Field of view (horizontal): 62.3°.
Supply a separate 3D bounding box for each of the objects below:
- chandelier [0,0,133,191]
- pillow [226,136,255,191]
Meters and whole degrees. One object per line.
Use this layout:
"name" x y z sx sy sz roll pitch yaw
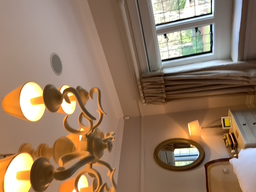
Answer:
"chandelier" -0.550 0.270 1.010 0.930 0.940 0.810 49 35 -71
"pillow" 1.470 0.820 2.460 0.600 0.480 0.210 -49 137 -37
